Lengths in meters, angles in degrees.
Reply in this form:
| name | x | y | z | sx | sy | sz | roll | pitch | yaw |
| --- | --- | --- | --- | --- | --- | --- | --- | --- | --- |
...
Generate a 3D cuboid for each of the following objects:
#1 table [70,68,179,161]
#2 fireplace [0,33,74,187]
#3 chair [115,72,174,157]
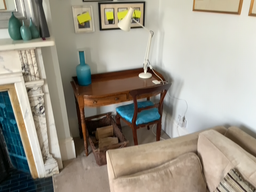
| name | x | y | z | sx | sy | sz | roll | pitch | yaw |
| --- | --- | --- | --- | --- | --- | --- | --- | --- | --- |
| table | -0.050 | 0.170 | 2.500 | 1.080 | 0.750 | 0.520 | -10 | 28 | -20 |
| fireplace | -1.460 | 0.210 | 1.810 | 1.750 | 1.280 | 0.460 | -10 | 28 | -20 |
| chair | 0.160 | 0.190 | 2.430 | 0.480 | 0.770 | 0.450 | -10 | 28 | -20 |
